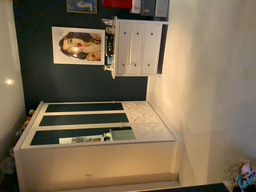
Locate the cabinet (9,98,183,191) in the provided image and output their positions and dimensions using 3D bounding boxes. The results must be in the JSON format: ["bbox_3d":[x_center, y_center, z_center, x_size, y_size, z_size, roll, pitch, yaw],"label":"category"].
[{"bbox_3d":[-0.530,0.730,3.890,1.740,2.400,0.760,-118,29,-67],"label":"cabinet"}]
